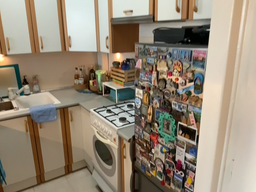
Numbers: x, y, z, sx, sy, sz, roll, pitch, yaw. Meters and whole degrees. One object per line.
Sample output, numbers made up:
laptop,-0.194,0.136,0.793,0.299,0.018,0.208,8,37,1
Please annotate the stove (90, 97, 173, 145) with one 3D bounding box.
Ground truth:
stove,0.020,0.190,1.880,0.540,0.140,0.490,-12,21,-31

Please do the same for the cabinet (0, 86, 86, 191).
cabinet,-0.980,0.430,2.300,0.810,0.850,0.580,-12,21,-31

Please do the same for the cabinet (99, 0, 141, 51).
cabinet,-0.080,-0.810,2.040,0.310,0.710,0.250,-12,21,-31

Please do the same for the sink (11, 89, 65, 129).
sink,-0.950,0.110,2.210,0.410,0.190,0.490,-12,21,-31
